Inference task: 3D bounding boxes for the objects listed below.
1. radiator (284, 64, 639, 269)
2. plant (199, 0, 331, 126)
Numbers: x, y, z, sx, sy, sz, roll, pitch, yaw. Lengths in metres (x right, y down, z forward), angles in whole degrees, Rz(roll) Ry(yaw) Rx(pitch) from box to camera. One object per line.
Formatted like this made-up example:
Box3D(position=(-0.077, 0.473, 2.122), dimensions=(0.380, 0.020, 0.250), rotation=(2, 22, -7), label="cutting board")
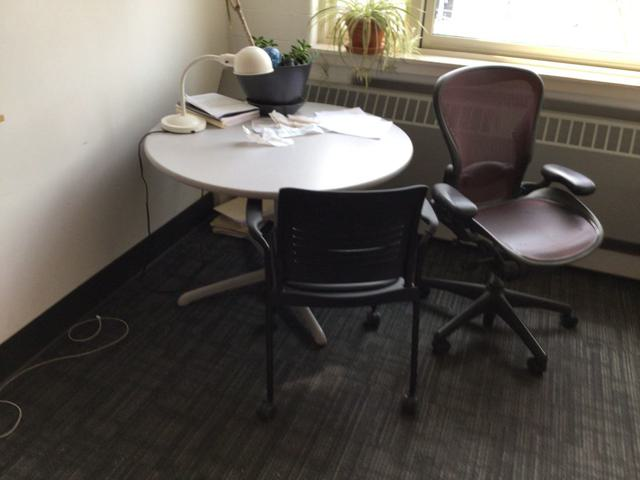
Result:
Box3D(position=(1.070, -0.300, 2.480), dimensions=(2.560, 0.630, 0.350), rotation=(12, 30, 22), label="radiator")
Box3D(position=(-0.210, -0.900, 2.370), dimensions=(0.370, 0.730, 0.420), rotation=(12, 30, 22), label="plant")
